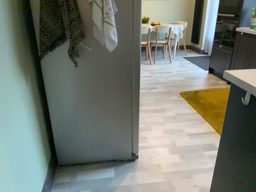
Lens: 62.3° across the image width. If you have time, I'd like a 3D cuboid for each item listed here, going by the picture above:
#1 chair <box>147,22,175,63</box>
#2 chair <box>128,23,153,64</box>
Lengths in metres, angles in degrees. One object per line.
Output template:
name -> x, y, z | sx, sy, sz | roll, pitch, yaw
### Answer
chair -> 0.720, -1.210, 4.750 | 0.420, 0.800, 0.540 | -4, 24, -11
chair -> 0.250, -1.170, 4.680 | 0.420, 0.790, 0.550 | -4, 24, -9
